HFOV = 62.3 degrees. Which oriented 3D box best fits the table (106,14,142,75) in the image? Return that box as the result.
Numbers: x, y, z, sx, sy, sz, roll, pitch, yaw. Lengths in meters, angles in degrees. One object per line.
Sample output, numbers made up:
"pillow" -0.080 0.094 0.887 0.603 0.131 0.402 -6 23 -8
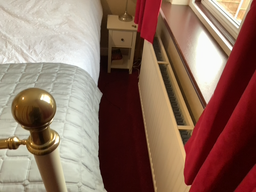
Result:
"table" -0.070 -0.580 2.410 0.340 0.530 0.390 1 41 -7
